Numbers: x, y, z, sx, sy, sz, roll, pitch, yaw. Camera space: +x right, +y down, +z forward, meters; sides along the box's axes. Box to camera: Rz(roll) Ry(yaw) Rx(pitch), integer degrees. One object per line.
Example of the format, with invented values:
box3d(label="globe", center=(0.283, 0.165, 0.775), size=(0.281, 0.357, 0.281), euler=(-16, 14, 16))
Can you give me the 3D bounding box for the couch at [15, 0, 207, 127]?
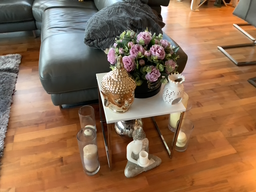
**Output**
box3d(label="couch", center=(-0.220, -0.560, 1.840), size=(1.030, 0.750, 1.320), euler=(-9, 41, -12))
